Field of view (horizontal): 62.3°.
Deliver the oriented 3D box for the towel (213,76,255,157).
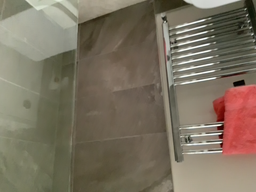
[{"bbox_3d":[0.530,0.090,0.940,0.230,0.330,0.080,-10,159,19],"label":"towel"}]
